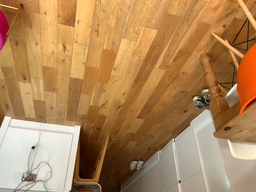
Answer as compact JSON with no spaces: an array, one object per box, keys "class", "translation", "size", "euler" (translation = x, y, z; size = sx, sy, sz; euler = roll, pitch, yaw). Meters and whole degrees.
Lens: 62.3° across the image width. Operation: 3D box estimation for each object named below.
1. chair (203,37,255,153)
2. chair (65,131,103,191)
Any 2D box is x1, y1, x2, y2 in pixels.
[{"class":"chair","translation":[0.970,-0.010,1.680],"size":[0.400,0.770,0.450],"euler":[7,143,-10]},{"class":"chair","translation":[-0.610,1.000,2.980],"size":[0.400,0.880,0.380],"euler":[10,142,-14]}]
